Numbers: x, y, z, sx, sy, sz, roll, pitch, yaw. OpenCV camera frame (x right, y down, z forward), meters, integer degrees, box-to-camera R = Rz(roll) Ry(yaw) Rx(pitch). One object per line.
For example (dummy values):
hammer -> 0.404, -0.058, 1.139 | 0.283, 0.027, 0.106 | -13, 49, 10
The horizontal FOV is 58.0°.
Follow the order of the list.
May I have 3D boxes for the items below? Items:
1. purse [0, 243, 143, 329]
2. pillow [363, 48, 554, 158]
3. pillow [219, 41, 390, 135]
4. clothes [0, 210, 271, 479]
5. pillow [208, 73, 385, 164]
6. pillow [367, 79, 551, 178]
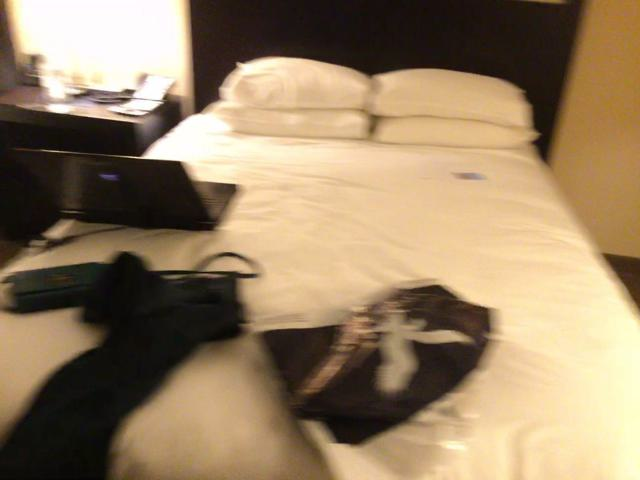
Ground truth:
purse -> -0.530, 0.090, 1.230 | 0.220, 0.040, 0.210 | 13, 25, 6
pillow -> 0.530, -0.560, 2.290 | 0.640, 0.240, 0.410 | 13, 25, 6
pillow -> -0.050, -0.640, 2.380 | 0.610, 0.210, 0.380 | 13, 25, 6
clothes -> -0.360, 0.310, 1.070 | 0.350, 0.510, 0.540 | 13, 25, 6
pillow -> -0.080, -0.520, 2.400 | 0.640, 0.170, 0.420 | 13, 25, 6
pillow -> 0.520, -0.440, 2.230 | 0.620, 0.200, 0.280 | 13, 25, 6
